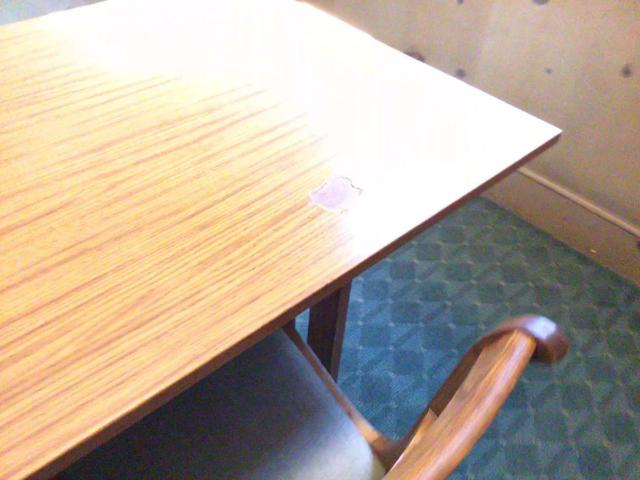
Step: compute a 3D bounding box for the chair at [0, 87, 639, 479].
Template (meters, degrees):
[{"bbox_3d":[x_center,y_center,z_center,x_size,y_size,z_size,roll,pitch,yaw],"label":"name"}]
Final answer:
[{"bbox_3d":[-0.080,0.330,0.840,0.450,0.840,0.540,-29,52,-32],"label":"chair"}]
